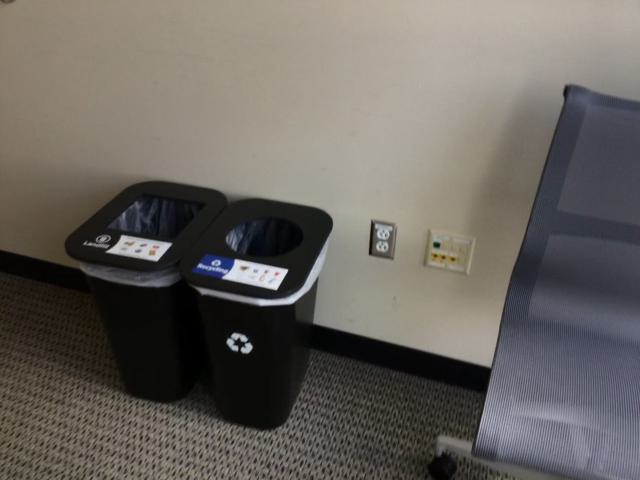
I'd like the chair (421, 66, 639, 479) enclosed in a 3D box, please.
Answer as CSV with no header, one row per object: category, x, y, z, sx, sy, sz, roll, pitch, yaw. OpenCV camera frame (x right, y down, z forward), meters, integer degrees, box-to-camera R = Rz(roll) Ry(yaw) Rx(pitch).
chair,0.520,0.260,1.110,0.530,0.960,0.690,12,32,15

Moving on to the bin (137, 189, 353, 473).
bin,-0.170,0.220,1.530,0.380,0.530,0.410,12,32,15

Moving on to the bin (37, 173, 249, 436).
bin,-0.440,0.160,1.590,0.330,0.520,0.410,12,32,15
